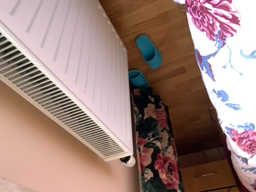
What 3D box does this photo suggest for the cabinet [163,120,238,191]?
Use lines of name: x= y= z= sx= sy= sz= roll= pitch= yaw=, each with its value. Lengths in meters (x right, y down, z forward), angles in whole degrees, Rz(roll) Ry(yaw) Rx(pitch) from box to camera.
cabinet: x=0.650 y=0.620 z=1.940 sx=0.480 sy=0.570 sz=0.400 roll=-18 pitch=137 yaw=17

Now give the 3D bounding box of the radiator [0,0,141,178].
radiator: x=-0.190 y=-0.250 z=0.730 sx=0.130 sy=0.720 sz=0.970 roll=-15 pitch=138 yaw=14
